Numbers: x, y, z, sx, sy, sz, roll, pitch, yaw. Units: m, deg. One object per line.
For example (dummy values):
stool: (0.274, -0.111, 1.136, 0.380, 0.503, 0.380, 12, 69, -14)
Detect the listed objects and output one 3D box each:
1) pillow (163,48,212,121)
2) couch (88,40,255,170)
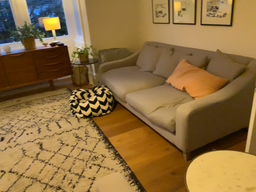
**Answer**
pillow: (0.600, -0.130, 2.270, 0.130, 0.350, 0.700, -15, 58, -11)
couch: (0.350, -0.170, 2.740, 1.040, 0.750, 2.100, -15, 25, -24)
